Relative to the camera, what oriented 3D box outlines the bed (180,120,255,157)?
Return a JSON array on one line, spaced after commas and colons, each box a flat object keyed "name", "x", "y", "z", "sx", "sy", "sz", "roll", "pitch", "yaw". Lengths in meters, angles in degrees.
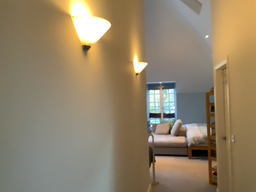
[{"name": "bed", "x": 2.670, "y": 1.130, "z": 6.030, "sx": 2.210, "sy": 0.610, "sz": 2.000, "roll": -2, "pitch": 0, "yaw": 11}]
